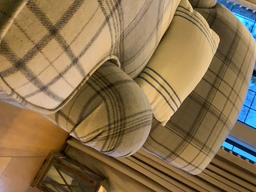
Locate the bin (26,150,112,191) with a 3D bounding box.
[{"bbox_3d":[-0.410,0.650,1.540,0.290,0.470,0.230,-62,171,-6],"label":"bin"}]

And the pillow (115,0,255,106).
[{"bbox_3d":[0.200,-0.150,0.790,0.150,0.440,0.270,76,3,-79],"label":"pillow"}]
